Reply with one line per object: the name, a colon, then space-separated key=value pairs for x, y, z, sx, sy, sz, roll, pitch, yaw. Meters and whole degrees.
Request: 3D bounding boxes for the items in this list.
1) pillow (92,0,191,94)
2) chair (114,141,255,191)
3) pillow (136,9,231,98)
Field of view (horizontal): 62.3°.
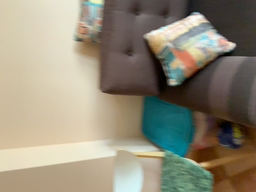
pillow: x=0.090 y=-0.500 z=1.330 sx=0.280 sy=0.510 sz=0.940 roll=18 pitch=105 yaw=60
chair: x=0.360 y=0.640 z=1.420 sx=0.510 sy=0.750 sz=0.450 roll=19 pitch=106 yaw=60
pillow: x=0.330 y=-0.250 z=1.210 sx=0.340 sy=0.400 sz=0.280 roll=46 pitch=121 yaw=11
